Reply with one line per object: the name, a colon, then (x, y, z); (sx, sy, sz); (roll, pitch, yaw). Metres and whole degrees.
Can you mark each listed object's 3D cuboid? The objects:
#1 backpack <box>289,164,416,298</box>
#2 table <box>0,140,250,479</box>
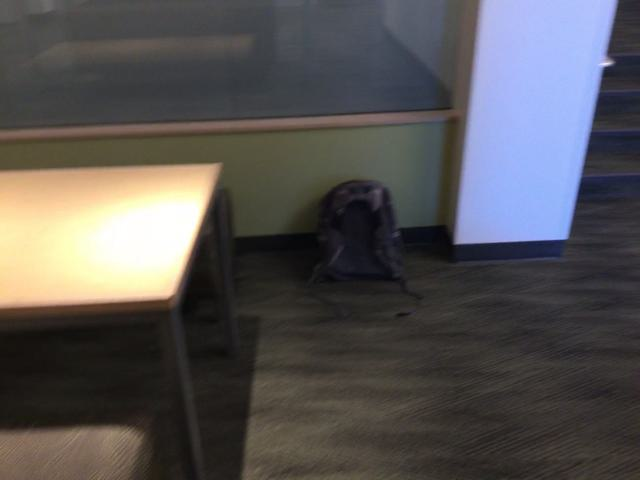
backpack: (0.140, -0.050, 2.580); (0.470, 0.430, 0.350); (-9, 25, -6)
table: (-0.920, 0.270, 1.650); (1.360, 0.890, 0.830); (-2, 24, -4)
